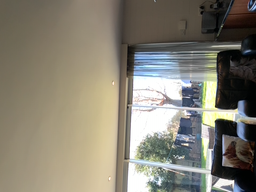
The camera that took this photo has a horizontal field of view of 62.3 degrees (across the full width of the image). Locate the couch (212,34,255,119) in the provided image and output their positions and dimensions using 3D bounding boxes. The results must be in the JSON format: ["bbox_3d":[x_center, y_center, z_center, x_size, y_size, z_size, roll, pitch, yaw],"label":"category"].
[{"bbox_3d":[1.600,-0.200,2.690,0.960,0.860,0.910,0,-86,-74],"label":"couch"}]
